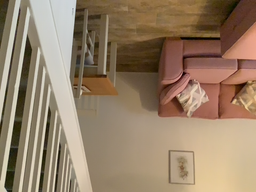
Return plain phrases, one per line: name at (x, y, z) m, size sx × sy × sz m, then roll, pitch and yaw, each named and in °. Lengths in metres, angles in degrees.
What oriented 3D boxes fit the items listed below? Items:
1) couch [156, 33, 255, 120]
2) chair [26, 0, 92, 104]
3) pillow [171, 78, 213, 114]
couch at (1.410, -0.210, 3.100) m, size 1.910 × 0.950 × 1.070 m, roll 1°, pitch 167°, yaw 3°
chair at (-0.700, -0.450, 2.330) m, size 0.460 × 0.980 × 0.510 m, roll 2°, pitch 168°, yaw 0°
pillow at (0.950, 0.020, 3.110) m, size 0.190 × 0.460 × 0.590 m, roll 42°, pitch -160°, yaw 29°
